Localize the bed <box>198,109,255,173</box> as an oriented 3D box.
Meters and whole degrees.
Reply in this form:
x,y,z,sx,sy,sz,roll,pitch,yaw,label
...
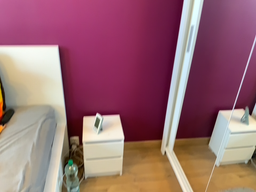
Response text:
x,y,z,sx,sy,sz,roll,pitch,yaw,label
0.960,0.410,1.970,0.390,0.440,0.360,-1,29,-8,bed

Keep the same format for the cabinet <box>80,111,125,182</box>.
x,y,z,sx,sy,sz,roll,pitch,yaw,label
-0.220,0.410,1.770,0.320,0.430,0.350,-2,29,-10,cabinet
